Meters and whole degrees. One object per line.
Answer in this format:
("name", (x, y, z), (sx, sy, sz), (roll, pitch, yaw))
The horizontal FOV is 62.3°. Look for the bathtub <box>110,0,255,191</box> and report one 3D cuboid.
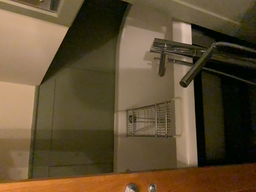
("bathtub", (0.370, 0.140, 1.450), (0.810, 0.710, 1.820), (-19, 68, 61))
